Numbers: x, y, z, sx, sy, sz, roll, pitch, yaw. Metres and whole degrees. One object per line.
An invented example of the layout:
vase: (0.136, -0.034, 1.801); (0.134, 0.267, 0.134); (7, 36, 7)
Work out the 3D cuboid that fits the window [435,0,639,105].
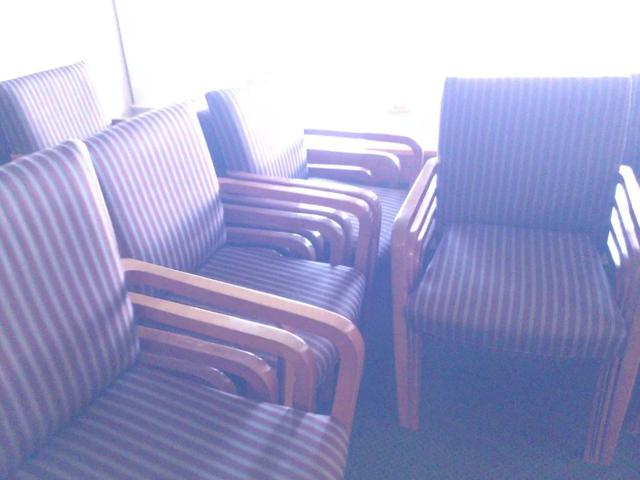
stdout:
window: (1.130, -0.930, 2.480); (1.190, 0.610, 0.410); (4, 24, 19)
